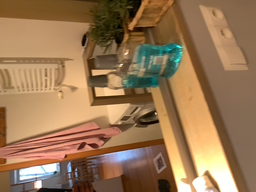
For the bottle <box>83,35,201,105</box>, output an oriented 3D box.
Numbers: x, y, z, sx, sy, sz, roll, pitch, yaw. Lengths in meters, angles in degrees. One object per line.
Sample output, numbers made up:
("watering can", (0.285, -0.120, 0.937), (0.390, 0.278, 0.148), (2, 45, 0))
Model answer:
("bottle", (0.030, -0.070, 0.620), (0.170, 0.280, 0.120), (133, 129, -60))
